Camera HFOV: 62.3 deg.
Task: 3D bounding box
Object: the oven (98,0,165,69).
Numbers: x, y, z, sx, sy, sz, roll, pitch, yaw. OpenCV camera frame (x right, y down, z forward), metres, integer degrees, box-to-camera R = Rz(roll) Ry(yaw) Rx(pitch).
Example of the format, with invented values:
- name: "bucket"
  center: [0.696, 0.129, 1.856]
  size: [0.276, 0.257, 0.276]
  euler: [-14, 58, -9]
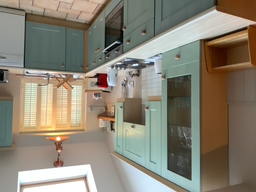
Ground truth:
- name: "oven"
  center: [0.000, -0.860, 2.750]
  size: [0.520, 0.870, 0.910]
  euler: [2, 178, -25]
